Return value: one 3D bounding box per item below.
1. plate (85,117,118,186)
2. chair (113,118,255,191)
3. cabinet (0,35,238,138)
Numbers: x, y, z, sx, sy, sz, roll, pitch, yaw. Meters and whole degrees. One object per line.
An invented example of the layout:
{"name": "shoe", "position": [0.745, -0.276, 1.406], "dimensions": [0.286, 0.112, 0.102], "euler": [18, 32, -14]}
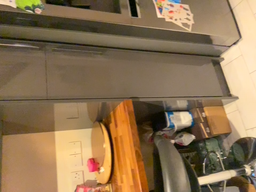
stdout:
{"name": "plate", "position": [-0.190, 0.370, 1.390], "dimensions": [0.370, 0.070, 0.380], "euler": [142, 123, -59]}
{"name": "chair", "position": [0.450, 0.480, 1.220], "dimensions": [0.530, 0.870, 0.560], "euler": [138, 127, -57]}
{"name": "cabinet", "position": [-0.410, -0.010, 1.330], "dimensions": [0.620, 2.320, 0.350], "euler": [137, 127, -57]}
